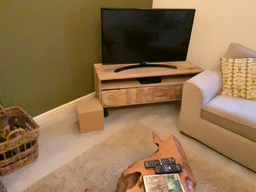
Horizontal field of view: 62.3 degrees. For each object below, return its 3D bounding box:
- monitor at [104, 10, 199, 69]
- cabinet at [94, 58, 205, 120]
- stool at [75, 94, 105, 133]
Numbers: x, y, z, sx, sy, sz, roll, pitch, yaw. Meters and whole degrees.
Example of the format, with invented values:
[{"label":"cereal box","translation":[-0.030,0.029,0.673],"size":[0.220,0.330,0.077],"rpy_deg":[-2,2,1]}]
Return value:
[{"label":"monitor","translation":[0.240,-0.590,2.270],"size":[0.990,0.600,0.040],"rpy_deg":[-4,30,-12]},{"label":"cabinet","translation":[0.220,-0.120,2.550],"size":[1.180,0.490,0.480],"rpy_deg":[-5,30,-15]},{"label":"stool","translation":[-0.400,0.170,2.200],"size":[0.250,0.250,0.310],"rpy_deg":[-6,31,-17]}]
